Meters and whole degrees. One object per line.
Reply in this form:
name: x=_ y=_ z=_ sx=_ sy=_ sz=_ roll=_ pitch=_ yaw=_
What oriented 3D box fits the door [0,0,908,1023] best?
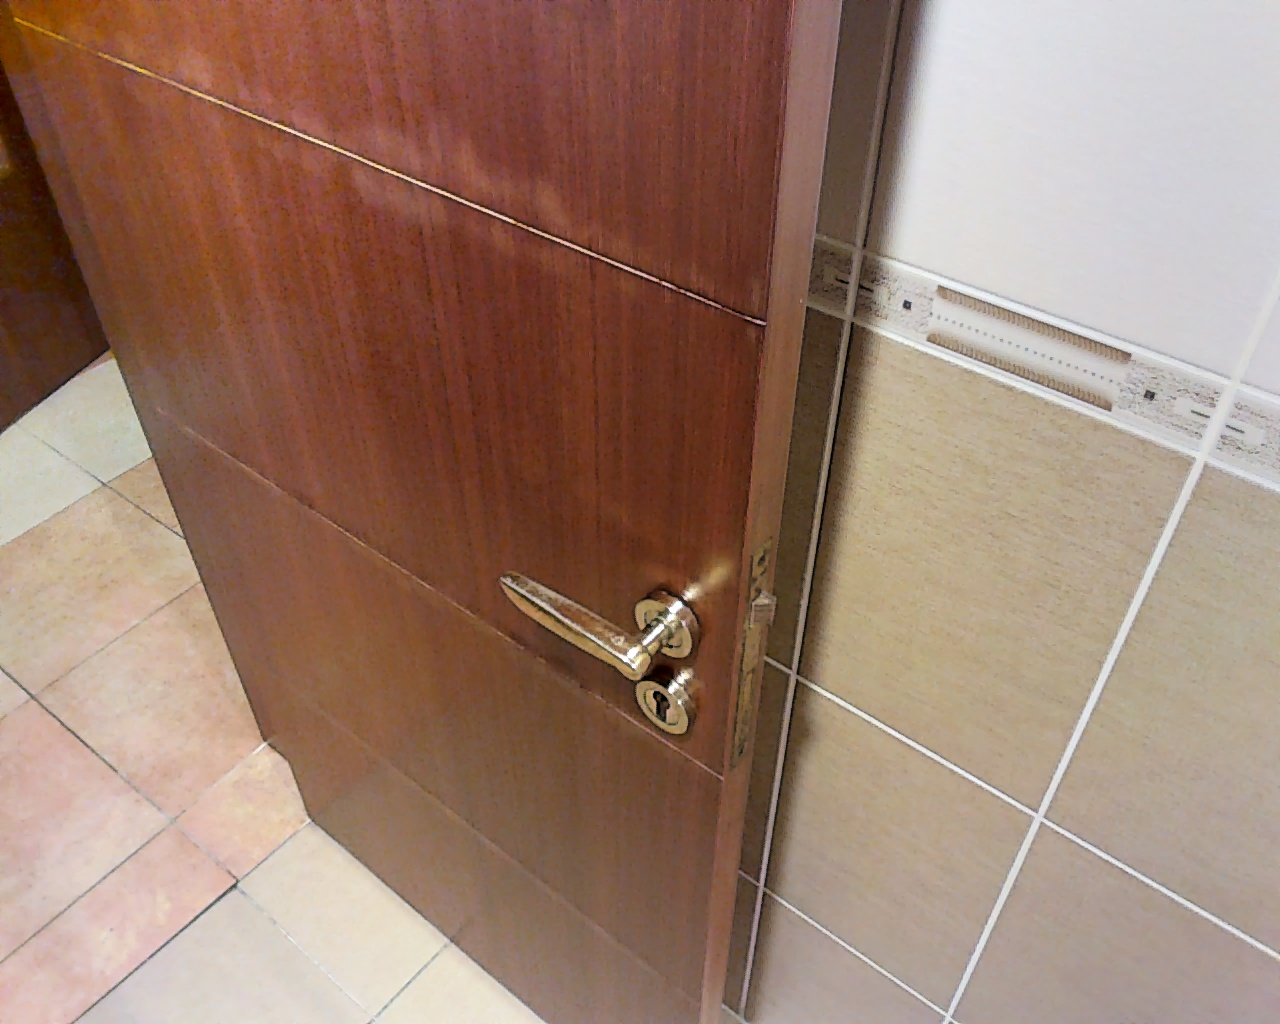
door: x=-0.230 y=-0.130 z=0.880 sx=0.840 sy=2.230 sz=0.050 roll=28 pitch=49 yaw=27
